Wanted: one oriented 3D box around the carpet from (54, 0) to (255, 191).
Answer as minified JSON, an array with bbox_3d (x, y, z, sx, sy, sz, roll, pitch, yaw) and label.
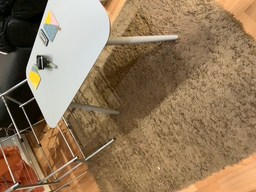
[{"bbox_3d":[0.010,0.090,1.330,1.040,0.040,1.510,53,129,20],"label":"carpet"}]
